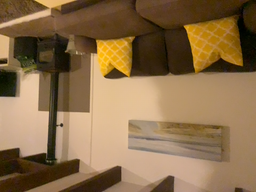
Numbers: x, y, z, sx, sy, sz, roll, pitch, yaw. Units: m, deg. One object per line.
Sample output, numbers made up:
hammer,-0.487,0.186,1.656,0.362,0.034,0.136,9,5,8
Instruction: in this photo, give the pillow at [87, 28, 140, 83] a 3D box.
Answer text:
pillow,-0.170,-0.460,2.470,0.450,0.420,0.200,-31,165,14

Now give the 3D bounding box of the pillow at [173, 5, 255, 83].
pillow,0.770,-0.450,1.950,0.500,0.470,0.220,-34,164,31

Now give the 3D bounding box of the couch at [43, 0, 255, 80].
couch,0.310,-0.690,2.220,1.950,0.850,1.220,0,177,28
